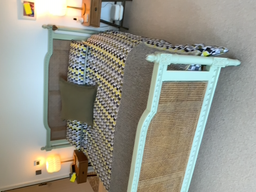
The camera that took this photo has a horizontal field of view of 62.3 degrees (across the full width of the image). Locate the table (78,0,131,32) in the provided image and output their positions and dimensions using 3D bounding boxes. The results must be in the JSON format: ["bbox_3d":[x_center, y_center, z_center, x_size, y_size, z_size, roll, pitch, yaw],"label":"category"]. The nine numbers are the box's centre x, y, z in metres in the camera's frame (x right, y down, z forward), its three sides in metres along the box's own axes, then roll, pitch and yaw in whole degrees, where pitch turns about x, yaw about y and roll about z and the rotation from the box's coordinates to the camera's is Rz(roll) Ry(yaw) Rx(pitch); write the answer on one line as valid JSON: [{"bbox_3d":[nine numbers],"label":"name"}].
[{"bbox_3d":[-0.340,-1.180,2.960,0.390,0.600,0.450,35,123,55],"label":"table"}]
